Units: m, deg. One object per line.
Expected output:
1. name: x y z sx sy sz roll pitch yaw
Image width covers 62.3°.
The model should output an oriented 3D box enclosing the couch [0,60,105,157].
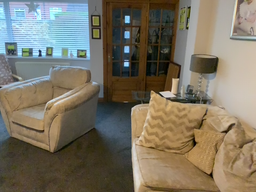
1. couch: -1.130 0.060 3.090 1.220 0.920 0.990 12 21 27

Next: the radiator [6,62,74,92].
1. radiator: -2.000 -0.440 4.930 1.410 0.630 0.220 0 18 -5
